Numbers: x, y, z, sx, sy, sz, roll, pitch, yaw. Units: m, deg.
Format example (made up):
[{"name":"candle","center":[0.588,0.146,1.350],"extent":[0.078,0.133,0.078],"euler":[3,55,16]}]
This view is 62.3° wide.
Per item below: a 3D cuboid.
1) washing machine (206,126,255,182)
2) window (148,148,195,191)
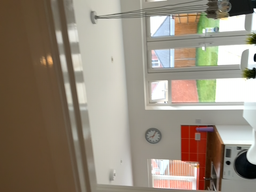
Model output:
[{"name":"washing machine","center":[1.800,0.910,3.420],"extent":[0.680,0.910,0.580],"euler":[-63,-30,-69]},{"name":"window","center":[0.920,1.670,4.470],"extent":[0.180,0.910,1.170],"euler":[-63,-30,-69]}]
